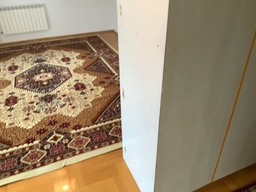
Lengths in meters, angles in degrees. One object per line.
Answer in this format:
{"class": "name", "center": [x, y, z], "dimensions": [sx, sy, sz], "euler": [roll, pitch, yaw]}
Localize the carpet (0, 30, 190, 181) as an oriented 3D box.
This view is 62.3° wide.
{"class": "carpet", "center": [-1.480, -0.410, 3.540], "dimensions": [2.980, 0.060, 4.140], "euler": [-13, 34, -20]}
